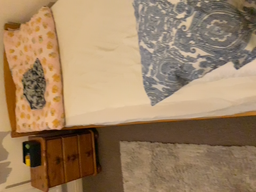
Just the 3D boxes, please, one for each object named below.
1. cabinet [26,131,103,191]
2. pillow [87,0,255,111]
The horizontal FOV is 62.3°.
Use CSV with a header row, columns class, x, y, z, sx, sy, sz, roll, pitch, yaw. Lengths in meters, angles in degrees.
class,x,y,z,sx,sy,sz,roll,pitch,yaw
cabinet,-0.570,0.560,1.930,0.370,0.530,0.390,-12,82,45
pillow,0.110,-0.350,0.700,0.460,0.270,0.730,-14,81,45
